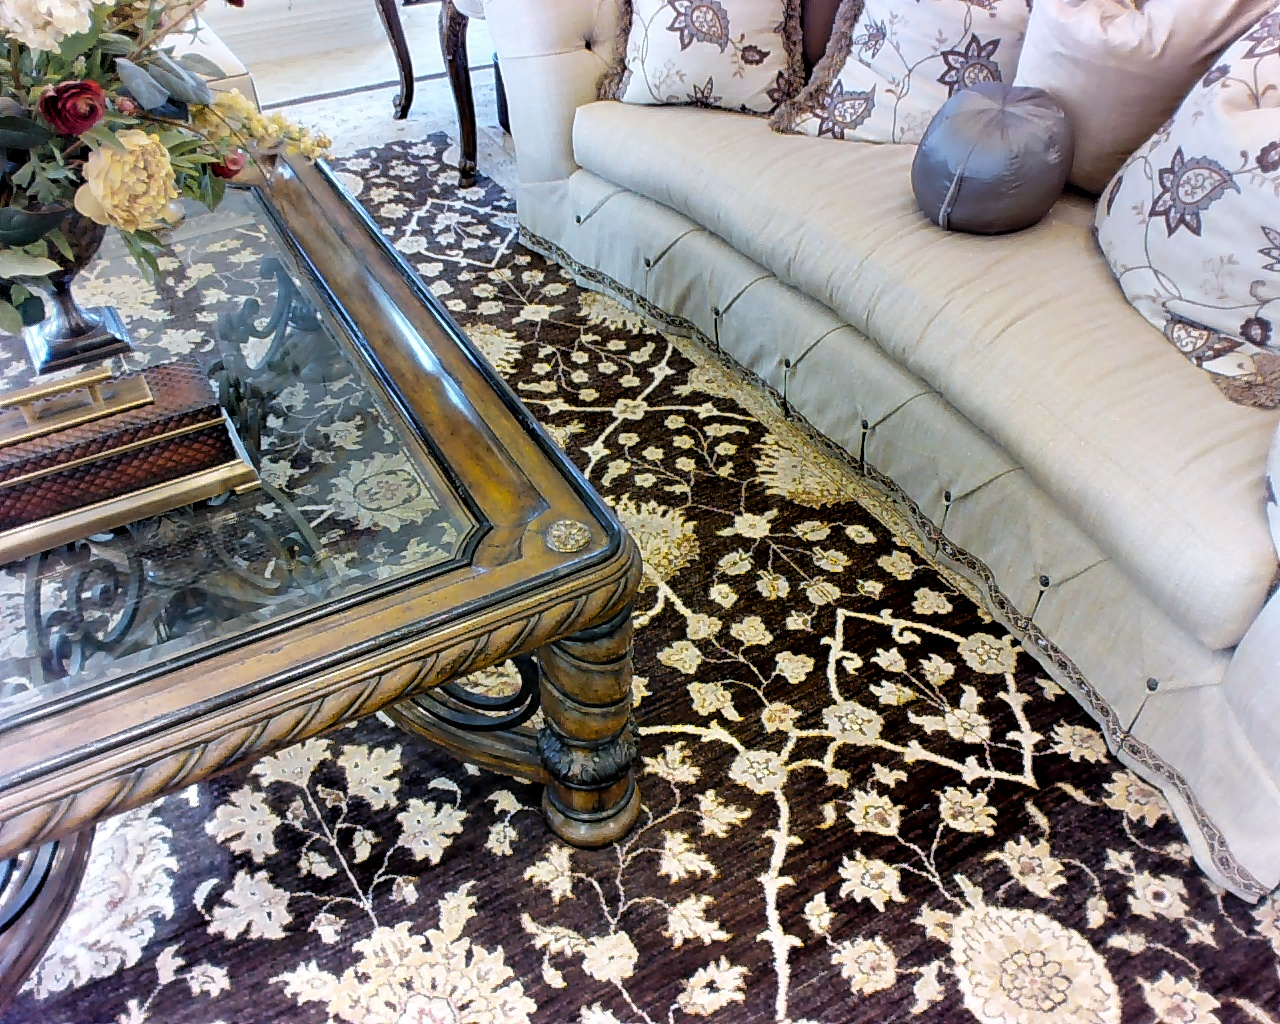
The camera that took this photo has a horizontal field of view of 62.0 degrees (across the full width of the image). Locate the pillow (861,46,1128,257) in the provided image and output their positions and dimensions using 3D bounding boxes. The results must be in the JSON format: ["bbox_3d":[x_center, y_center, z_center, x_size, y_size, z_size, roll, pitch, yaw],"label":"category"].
[{"bbox_3d":[0.670,-0.710,2.070,0.290,0.230,0.360,-17,45,-19],"label":"pillow"}]

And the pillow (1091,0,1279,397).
[{"bbox_3d":[1.020,-0.540,1.730,0.290,0.470,0.550,2,42,2],"label":"pillow"}]
